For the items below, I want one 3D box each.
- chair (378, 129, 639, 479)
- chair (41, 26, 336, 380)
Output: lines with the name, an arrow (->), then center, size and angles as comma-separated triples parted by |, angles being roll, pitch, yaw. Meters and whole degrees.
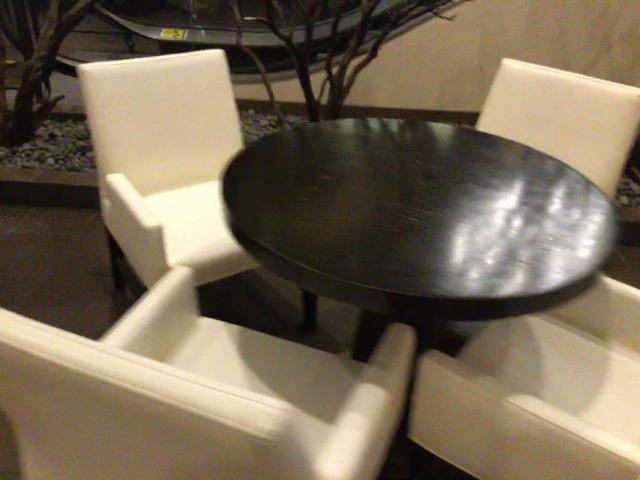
chair -> 0.610, 0.310, 1.260 | 0.710, 0.820, 0.640 | 21, 37, 33
chair -> -0.410, -0.180, 1.930 | 0.640, 0.850, 0.690 | -19, 35, -28
